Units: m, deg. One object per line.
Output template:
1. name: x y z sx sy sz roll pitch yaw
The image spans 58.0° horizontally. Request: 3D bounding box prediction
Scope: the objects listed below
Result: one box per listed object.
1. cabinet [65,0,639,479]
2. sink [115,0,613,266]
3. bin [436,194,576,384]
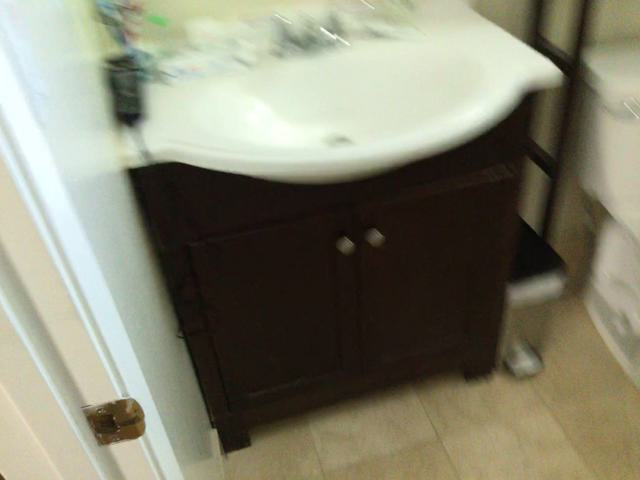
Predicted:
1. cabinet: 0.120 -0.020 1.280 0.930 1.050 0.470 -14 39 -9
2. sink: 0.040 -0.250 1.070 0.770 0.180 0.440 -14 39 -9
3. bin: 0.490 0.130 1.610 0.190 0.350 0.350 -14 39 -9
